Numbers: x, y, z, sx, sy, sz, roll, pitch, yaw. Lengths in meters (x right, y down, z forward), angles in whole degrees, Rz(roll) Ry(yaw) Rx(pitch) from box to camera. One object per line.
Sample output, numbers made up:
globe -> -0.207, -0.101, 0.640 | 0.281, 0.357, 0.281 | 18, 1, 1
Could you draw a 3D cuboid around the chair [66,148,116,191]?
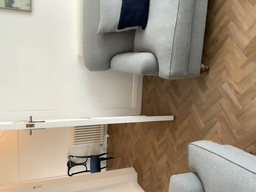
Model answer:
chair -> -0.700, 1.340, 3.890 | 0.570, 0.770, 0.520 | -162, 73, -65
